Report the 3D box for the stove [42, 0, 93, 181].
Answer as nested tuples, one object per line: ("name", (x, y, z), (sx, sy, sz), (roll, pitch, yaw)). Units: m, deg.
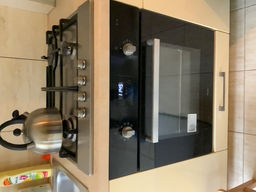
("stove", (-0.280, -0.040, 0.890), (0.530, 0.030, 0.600), (3, 93, 55))
